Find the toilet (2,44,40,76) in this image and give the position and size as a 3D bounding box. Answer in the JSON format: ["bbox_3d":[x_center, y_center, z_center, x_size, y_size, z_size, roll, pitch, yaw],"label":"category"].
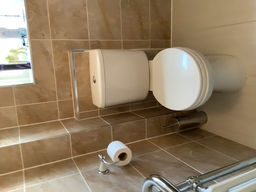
[{"bbox_3d":[-0.790,-0.270,1.570,0.220,0.210,0.210,17,112,61],"label":"toilet"}]

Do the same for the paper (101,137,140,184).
[{"bbox_3d":[-0.040,0.330,1.110,0.130,0.150,0.160,19,114,61],"label":"paper"}]

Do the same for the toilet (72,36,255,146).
[{"bbox_3d":[0.230,-0.130,1.330,0.690,0.960,0.430,21,116,60],"label":"toilet"}]
